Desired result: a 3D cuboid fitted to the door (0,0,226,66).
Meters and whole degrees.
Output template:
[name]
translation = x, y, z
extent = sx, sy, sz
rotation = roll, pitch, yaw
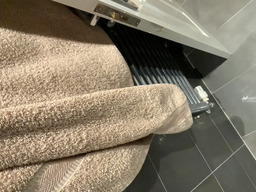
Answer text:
[door]
translation = -0.240, -0.450, 0.610
extent = 0.070, 1.920, 0.700
rotation = -43, 65, 32
